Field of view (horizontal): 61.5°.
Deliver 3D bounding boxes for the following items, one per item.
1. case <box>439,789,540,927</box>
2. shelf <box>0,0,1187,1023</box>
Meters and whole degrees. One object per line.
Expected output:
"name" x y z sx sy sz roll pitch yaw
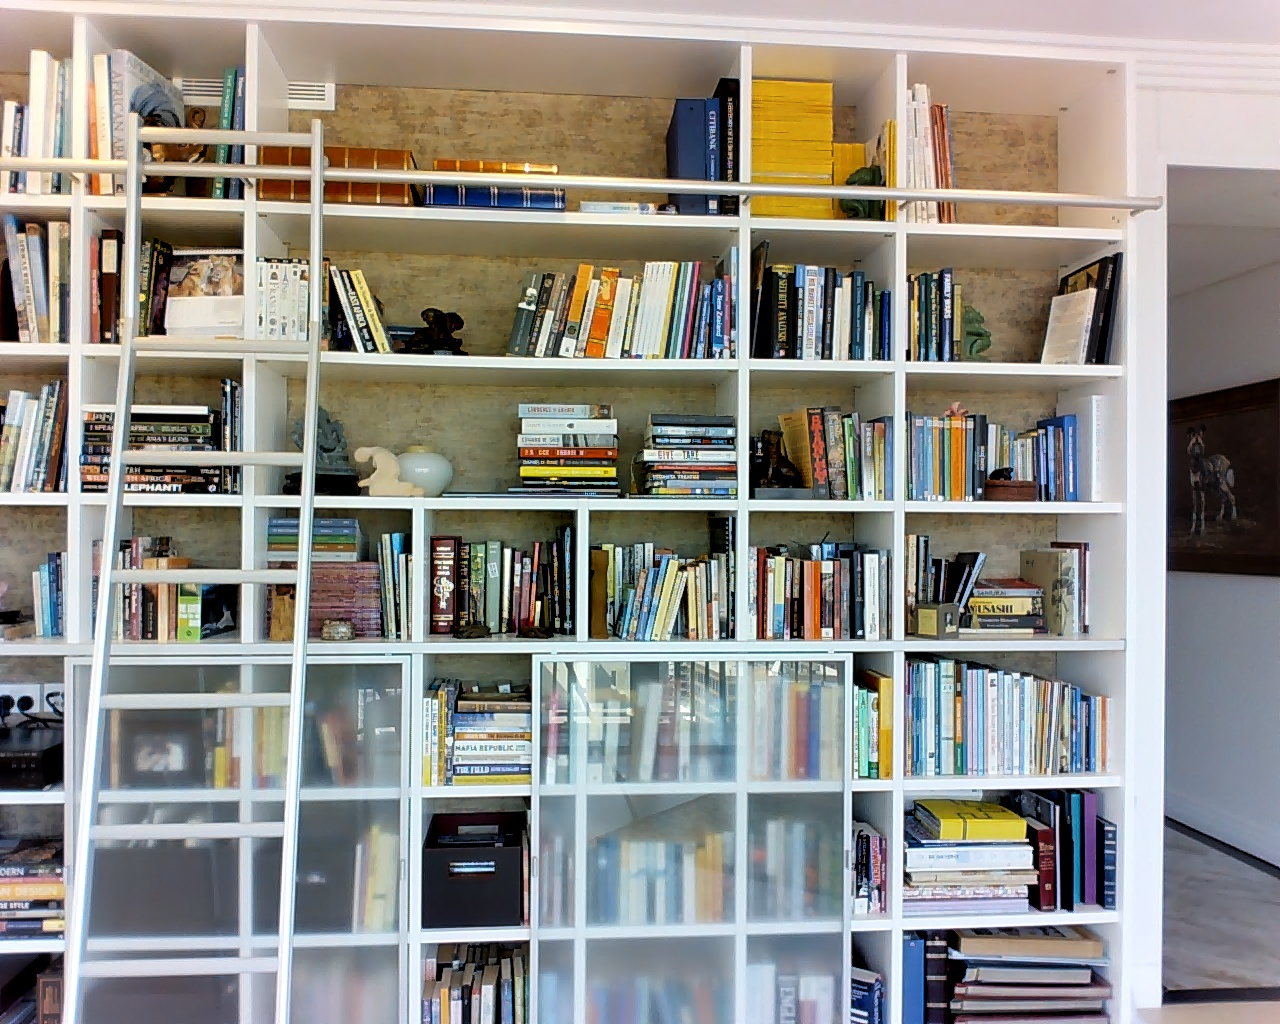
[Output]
"case" -0.380 0.870 2.730 0.240 0.260 0.260 0 -1 -7
"shelf" -0.240 0.000 2.760 3.269 2.761 0.330 0 -1 -6
